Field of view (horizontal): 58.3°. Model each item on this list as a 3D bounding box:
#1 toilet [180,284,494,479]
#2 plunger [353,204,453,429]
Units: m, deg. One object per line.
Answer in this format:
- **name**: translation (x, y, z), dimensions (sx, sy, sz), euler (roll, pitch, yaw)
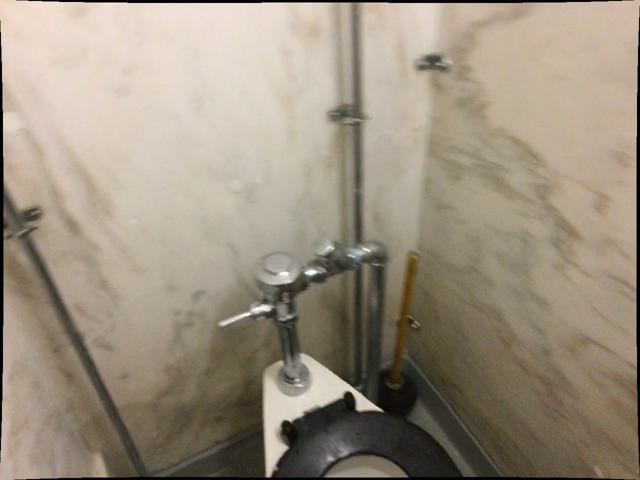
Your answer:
- **toilet**: translation (0.050, 0.550, 1.200), dimensions (0.390, 0.460, 0.730), euler (-20, 45, -20)
- **plunger**: translation (0.190, 0.220, 1.450), dimensions (0.150, 0.630, 0.140), euler (-20, 45, -20)
